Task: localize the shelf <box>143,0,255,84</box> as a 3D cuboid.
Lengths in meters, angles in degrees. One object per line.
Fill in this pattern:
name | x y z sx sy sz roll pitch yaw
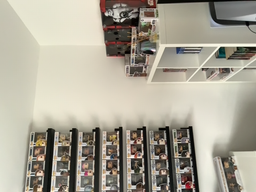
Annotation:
shelf | 0.890 -0.430 1.720 0.780 1.450 0.440 98 171 -75
